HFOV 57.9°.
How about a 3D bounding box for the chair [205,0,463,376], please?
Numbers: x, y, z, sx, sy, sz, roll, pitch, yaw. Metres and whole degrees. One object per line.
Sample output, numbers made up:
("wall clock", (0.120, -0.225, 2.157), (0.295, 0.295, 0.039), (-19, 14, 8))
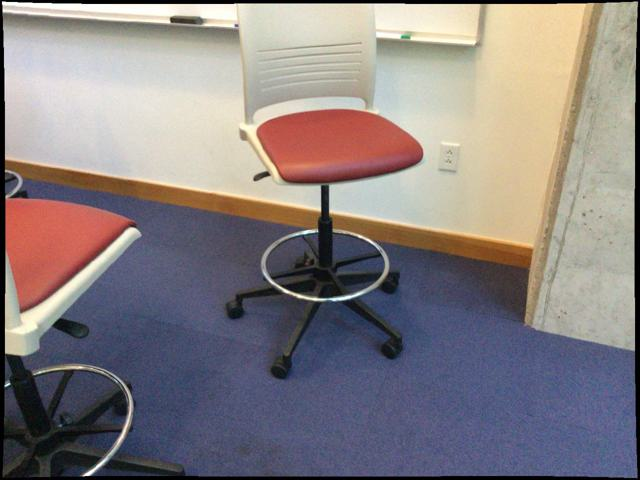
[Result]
("chair", (0.010, -0.220, 1.910), (0.540, 1.091, 0.610), (-12, 35, -16))

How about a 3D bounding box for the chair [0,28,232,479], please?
("chair", (-0.679, 0.180, 1.300), (0.649, 1.121, 0.580), (10, 35, 17))
